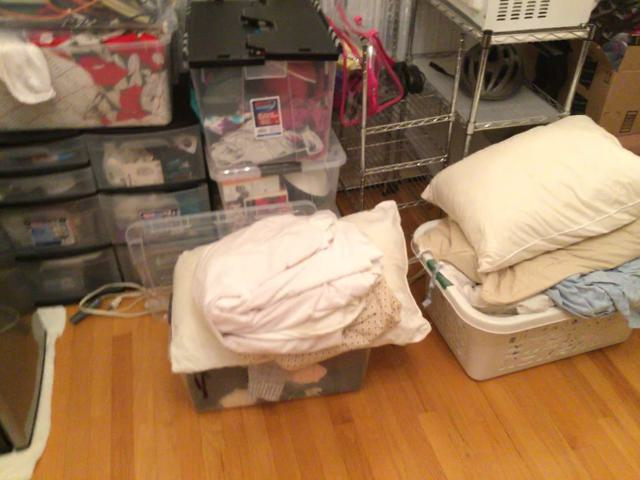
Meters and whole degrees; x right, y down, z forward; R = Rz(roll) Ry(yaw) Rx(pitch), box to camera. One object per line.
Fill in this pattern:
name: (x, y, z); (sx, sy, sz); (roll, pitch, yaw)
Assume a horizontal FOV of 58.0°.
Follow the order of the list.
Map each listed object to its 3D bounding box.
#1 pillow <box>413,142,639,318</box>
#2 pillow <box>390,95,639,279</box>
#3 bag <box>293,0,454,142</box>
pillow: (0.620, -0.050, 1.590); (0.610, 0.230, 0.370); (-10, 34, -13)
pillow: (0.580, -0.180, 1.560); (0.610, 0.180, 0.550); (-10, 34, -12)
bag: (0.140, -0.540, 1.780); (0.340, 0.280, 0.450); (-10, 34, -12)
